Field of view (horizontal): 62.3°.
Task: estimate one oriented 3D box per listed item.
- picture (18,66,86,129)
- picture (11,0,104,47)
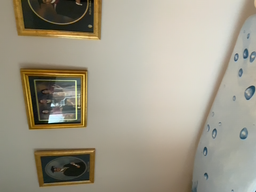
[{"bbox_3d":[-0.380,0.020,1.110,0.030,0.310,0.350,-106,20,-60],"label":"picture"},{"bbox_3d":[-0.290,-0.370,0.900,0.020,0.370,0.300,-106,20,-61],"label":"picture"}]
